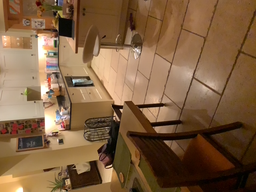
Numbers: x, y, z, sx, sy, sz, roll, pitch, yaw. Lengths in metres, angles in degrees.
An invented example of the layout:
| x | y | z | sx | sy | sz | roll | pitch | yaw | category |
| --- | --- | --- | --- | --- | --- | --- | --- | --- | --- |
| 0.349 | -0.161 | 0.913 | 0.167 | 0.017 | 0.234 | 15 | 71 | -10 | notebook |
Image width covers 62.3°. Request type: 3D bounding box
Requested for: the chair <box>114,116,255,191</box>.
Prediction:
| x | y | z | sx | sy | sz | roll | pitch | yaw | category |
| --- | --- | --- | --- | --- | --- | --- | --- | --- | --- |
| 0.480 | 0.560 | 1.490 | 0.430 | 1.000 | 0.630 | -129 | 43 | -52 | chair |

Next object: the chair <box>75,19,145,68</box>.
| x | y | z | sx | sy | sz | roll | pitch | yaw | category |
| --- | --- | --- | --- | --- | --- | --- | --- | --- | --- |
| -0.290 | -0.760 | 3.180 | 0.480 | 0.860 | 0.470 | 121 | 139 | -51 | chair |

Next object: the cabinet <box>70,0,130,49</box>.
| x | y | z | sx | sy | sz | roll | pitch | yaw | category |
| --- | --- | --- | --- | --- | --- | --- | --- | --- | --- |
| -0.480 | -1.420 | 3.550 | 0.450 | 0.840 | 1.110 | -129 | 43 | -52 | cabinet |
